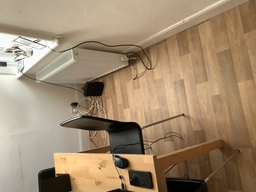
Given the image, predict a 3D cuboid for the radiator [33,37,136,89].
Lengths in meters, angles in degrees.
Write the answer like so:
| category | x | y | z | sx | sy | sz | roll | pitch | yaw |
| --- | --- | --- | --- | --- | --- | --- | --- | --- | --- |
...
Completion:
| category | x | y | z | sx | sy | sz | roll | pitch | yaw |
| --- | --- | --- | --- | --- | --- | --- | --- | --- | --- |
| radiator | -0.490 | -0.290 | 2.240 | 0.940 | 0.670 | 0.210 | -17 | 80 | 47 |
